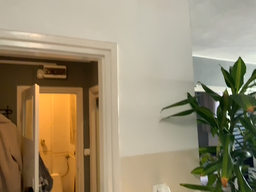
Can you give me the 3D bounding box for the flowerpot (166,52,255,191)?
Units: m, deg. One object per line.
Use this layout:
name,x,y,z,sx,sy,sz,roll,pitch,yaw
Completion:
flowerpot,0.610,0.330,1.120,0.580,0.960,0.490,0,-5,-27
